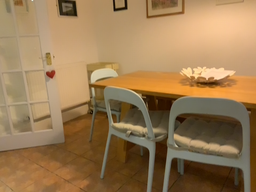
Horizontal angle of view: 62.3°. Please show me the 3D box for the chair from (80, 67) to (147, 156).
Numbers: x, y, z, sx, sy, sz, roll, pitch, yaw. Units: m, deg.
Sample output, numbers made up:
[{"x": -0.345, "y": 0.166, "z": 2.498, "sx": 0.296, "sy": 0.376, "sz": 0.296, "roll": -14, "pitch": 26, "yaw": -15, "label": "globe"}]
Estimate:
[{"x": -0.140, "y": 0.120, "z": 2.310, "sx": 0.490, "sy": 0.790, "sz": 0.480, "roll": 10, "pitch": 20, "yaw": 39, "label": "chair"}]

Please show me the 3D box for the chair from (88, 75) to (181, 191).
[{"x": 0.080, "y": 0.280, "z": 1.680, "sx": 0.470, "sy": 0.790, "sz": 0.530, "roll": 9, "pitch": 19, "yaw": 36, "label": "chair"}]

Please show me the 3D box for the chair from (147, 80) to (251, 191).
[{"x": 0.460, "y": 0.350, "z": 1.350, "sx": 0.470, "sy": 0.790, "sz": 0.530, "roll": 6, "pitch": 18, "yaw": 30, "label": "chair"}]
